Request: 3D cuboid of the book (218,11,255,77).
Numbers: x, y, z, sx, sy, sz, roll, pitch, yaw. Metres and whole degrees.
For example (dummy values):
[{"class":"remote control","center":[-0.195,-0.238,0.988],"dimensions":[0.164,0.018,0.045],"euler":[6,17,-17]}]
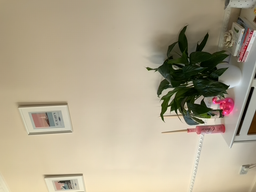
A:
[{"class":"book","center":[0.760,-0.360,1.500],"dimensions":[0.150,0.090,0.420],"euler":[-95,3,-55]}]
